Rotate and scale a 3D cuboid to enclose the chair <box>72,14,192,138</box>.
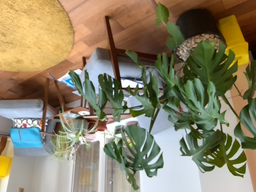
[{"bbox_3d":[0.000,-0.110,1.900,0.800,0.760,0.590,11,151,-25],"label":"chair"}]

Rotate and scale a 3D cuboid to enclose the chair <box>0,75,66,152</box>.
[{"bbox_3d":[-1.200,0.260,2.660,0.560,0.710,0.810,-2,154,0],"label":"chair"}]
